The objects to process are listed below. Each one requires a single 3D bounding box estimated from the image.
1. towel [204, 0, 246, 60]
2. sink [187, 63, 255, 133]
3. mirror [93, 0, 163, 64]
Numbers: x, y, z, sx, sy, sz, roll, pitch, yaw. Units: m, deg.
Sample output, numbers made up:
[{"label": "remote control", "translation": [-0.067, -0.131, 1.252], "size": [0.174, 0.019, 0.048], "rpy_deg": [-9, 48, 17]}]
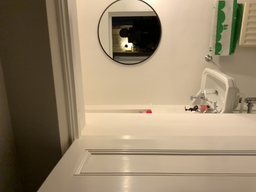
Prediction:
[{"label": "towel", "translation": [0.870, -0.610, 1.920], "size": [0.070, 0.280, 0.550], "rpy_deg": [-90, 0, -72]}, {"label": "sink", "translation": [0.730, -0.020, 1.760], "size": [0.590, 0.290, 0.410], "rpy_deg": [-90, 0, -71]}, {"label": "mirror", "translation": [0.000, -0.610, 1.980], "size": [0.050, 0.620, 0.610], "rpy_deg": [-90, 0, -72]}]
